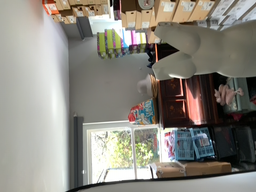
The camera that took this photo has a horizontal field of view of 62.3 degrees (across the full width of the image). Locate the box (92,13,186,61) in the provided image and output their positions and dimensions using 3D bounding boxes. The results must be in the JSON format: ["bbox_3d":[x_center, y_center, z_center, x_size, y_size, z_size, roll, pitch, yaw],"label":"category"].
[{"bbox_3d":[0.130,-0.810,2.970,0.430,1.190,0.460,104,163,-76],"label":"box"}]
